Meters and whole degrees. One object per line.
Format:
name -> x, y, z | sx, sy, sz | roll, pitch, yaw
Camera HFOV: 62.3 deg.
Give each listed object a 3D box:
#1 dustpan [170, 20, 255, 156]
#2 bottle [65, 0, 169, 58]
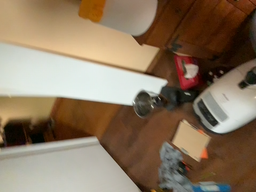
dustpan -> 0.670, -0.100, 1.100 | 0.940, 0.200, 0.380 | -51, 54, 36
bottle -> -0.050, -0.330, 0.830 | 0.200, 0.270, 0.260 | -48, 56, 37
